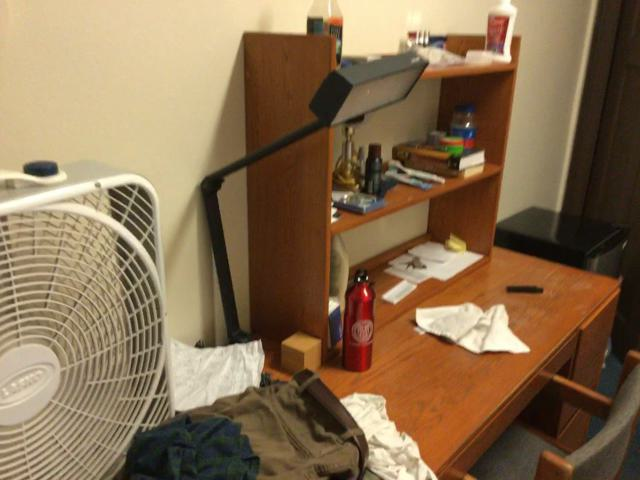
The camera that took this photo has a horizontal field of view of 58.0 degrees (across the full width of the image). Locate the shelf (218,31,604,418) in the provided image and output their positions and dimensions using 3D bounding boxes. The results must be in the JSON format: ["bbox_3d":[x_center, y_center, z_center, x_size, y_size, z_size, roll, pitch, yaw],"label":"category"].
[{"bbox_3d":[0.280,-0.160,1.530,0.470,0.730,0.970,18,27,38],"label":"shelf"}]

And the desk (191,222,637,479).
[{"bbox_3d":[0.340,0.530,1.710,0.630,0.780,1.230,18,27,38],"label":"desk"}]
